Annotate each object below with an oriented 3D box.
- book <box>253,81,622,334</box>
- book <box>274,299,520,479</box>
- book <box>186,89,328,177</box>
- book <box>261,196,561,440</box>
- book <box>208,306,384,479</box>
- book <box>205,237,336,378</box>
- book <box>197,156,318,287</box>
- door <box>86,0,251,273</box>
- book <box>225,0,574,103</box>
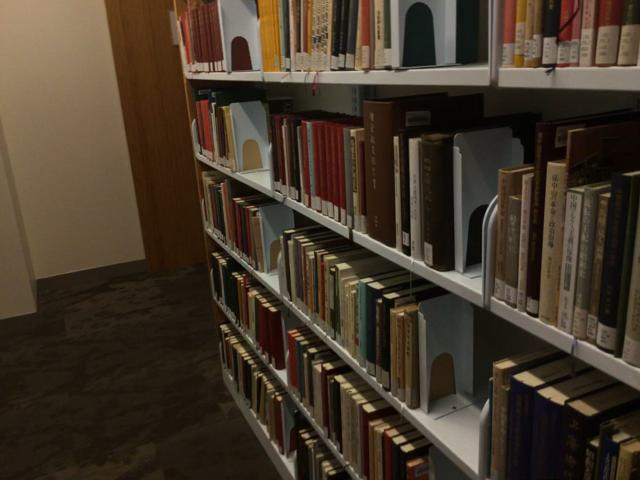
[{"bbox_3d":[0.140,-0.160,1.270,0.230,0.320,0.960,-12,21,-24],"label":"book"},{"bbox_3d":[0.140,0.440,1.530,0.220,0.250,0.810,-12,21,-24],"label":"book"},{"bbox_3d":[-0.250,-0.420,2.150,0.330,0.230,0.570,-12,21,-24],"label":"book"},{"bbox_3d":[0.160,0.120,1.480,0.330,0.260,0.820,-12,21,-24],"label":"book"},{"bbox_3d":[-0.050,0.710,1.900,0.120,0.360,1.730,-12,21,-24],"label":"book"},{"bbox_3d":[-0.220,0.220,2.230,0.220,0.230,0.770,-12,21,-24],"label":"book"},{"bbox_3d":[-0.250,-0.100,2.140,0.210,0.310,0.640,-12,21,-24],"label":"book"},{"bbox_3d":[-1.010,-0.900,3.940,0.840,2.140,0.290,-12,20,-24],"label":"door"},{"bbox_3d":[0.060,-0.500,1.280,0.220,0.300,1.040,-12,21,-24],"label":"book"}]
